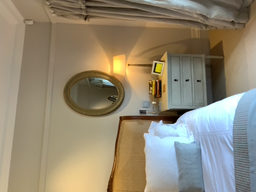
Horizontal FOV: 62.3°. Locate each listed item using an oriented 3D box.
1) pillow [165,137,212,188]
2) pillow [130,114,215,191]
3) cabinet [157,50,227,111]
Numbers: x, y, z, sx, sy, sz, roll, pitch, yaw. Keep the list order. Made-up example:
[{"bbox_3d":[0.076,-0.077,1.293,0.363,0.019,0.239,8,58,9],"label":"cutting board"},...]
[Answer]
[{"bbox_3d":[0.560,0.610,1.980,0.360,0.260,0.130,-61,1,-7],"label":"pillow"},{"bbox_3d":[0.450,0.620,2.250,0.650,0.560,0.290,-54,1,-7],"label":"pillow"},{"bbox_3d":[0.830,-0.180,2.890,0.470,0.770,0.730,114,157,-80],"label":"cabinet"}]
